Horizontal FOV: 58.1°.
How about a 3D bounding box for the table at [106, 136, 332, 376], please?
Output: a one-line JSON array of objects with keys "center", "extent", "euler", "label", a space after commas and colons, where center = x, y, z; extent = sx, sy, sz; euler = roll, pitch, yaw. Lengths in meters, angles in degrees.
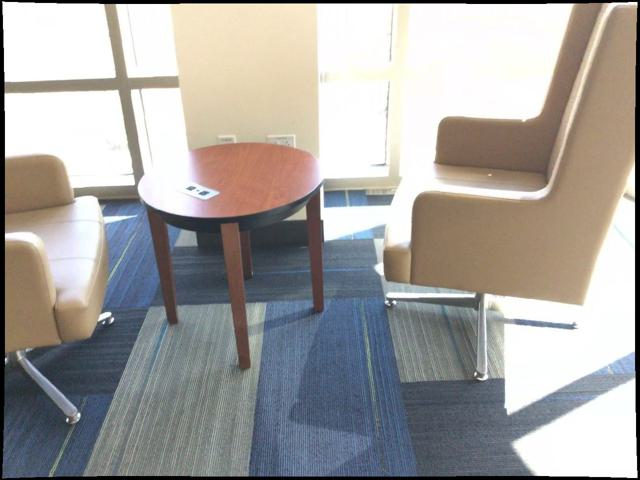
[{"center": [-0.299, 0.030, 2.080], "extent": [0.628, 0.571, 0.650], "euler": [-3, 31, -1], "label": "table"}]
